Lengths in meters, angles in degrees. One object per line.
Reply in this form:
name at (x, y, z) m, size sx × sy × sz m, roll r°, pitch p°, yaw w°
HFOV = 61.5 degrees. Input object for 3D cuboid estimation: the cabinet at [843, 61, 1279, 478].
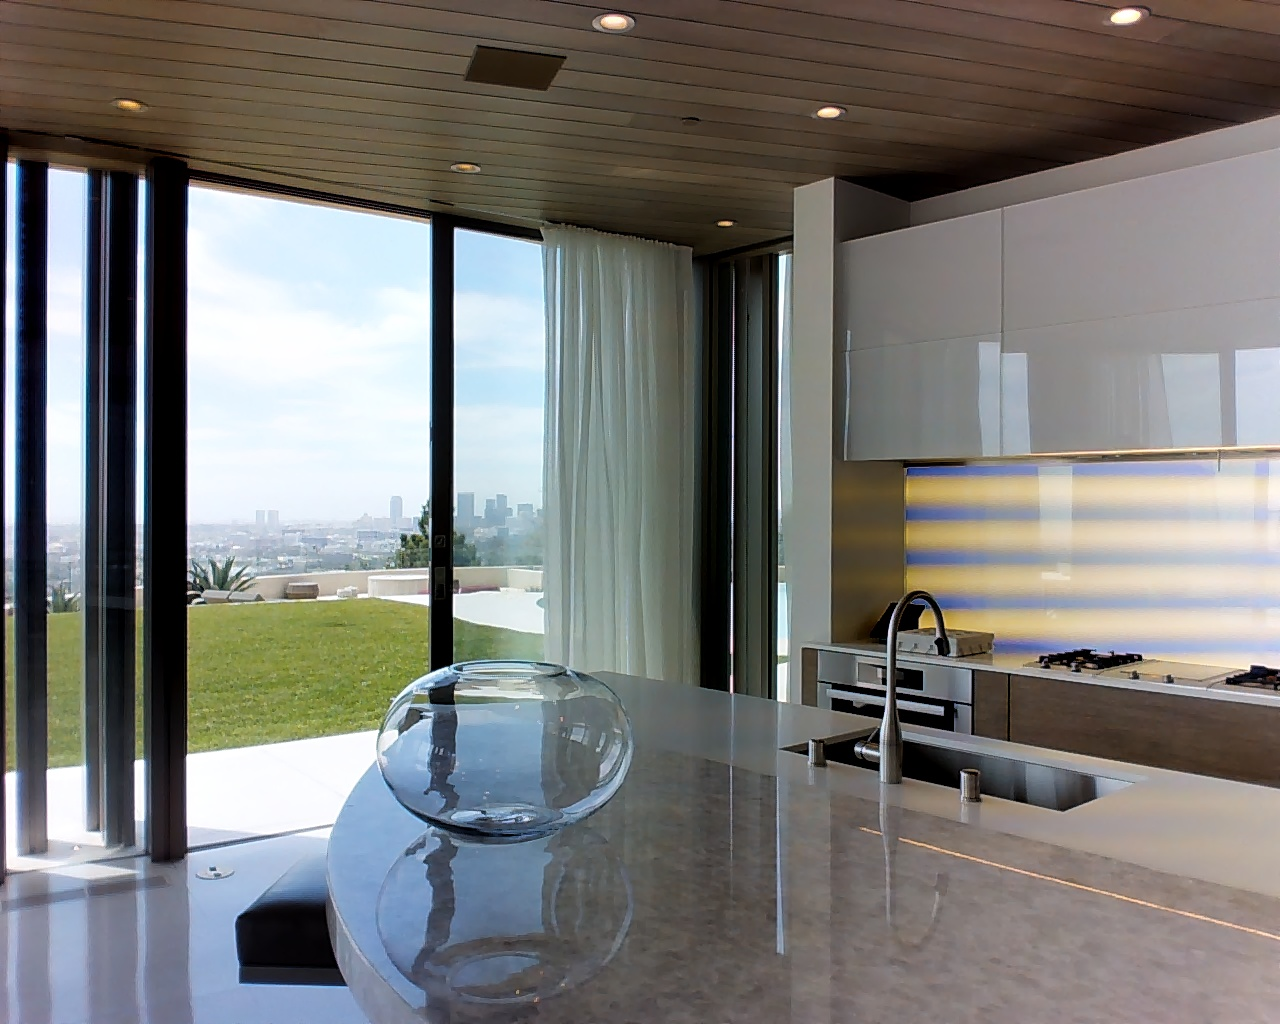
cabinet at (2.240, -0.830, 3.920) m, size 0.670 × 1.320 × 3.240 m, roll 0°, pitch 0°, yaw -41°
